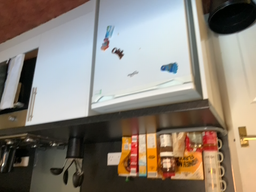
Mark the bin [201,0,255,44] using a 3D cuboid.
[{"bbox_3d":[0.650,-0.580,1.370,0.270,0.280,0.330,-11,157,30],"label":"bin"}]
